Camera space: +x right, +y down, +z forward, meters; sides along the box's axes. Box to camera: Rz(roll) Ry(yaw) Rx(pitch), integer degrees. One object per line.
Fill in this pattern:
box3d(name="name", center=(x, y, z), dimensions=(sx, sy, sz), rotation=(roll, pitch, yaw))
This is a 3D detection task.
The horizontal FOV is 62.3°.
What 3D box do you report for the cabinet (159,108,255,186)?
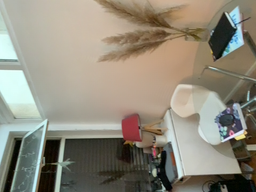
box3d(name="cabinet", center=(0.810, 0.540, 2.300), dimensions=(0.410, 0.760, 0.710), rotation=(102, 167, -53))
